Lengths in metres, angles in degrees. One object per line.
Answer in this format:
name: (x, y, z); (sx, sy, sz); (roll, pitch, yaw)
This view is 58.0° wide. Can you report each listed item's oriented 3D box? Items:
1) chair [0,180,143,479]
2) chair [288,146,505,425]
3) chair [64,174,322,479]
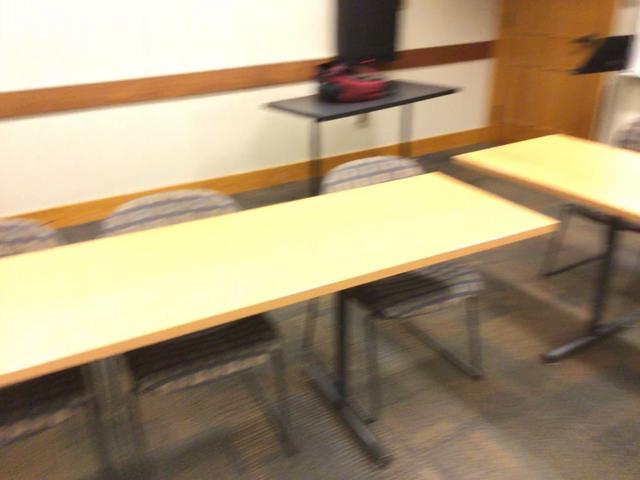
chair: (-0.870, 0.330, 1.560); (0.500, 0.800, 0.500); (-18, 26, -27)
chair: (0.270, 0.120, 2.060); (0.500, 0.740, 0.520); (-18, 26, -27)
chair: (-0.380, 0.250, 1.780); (0.520, 0.720, 0.510); (-18, 26, -27)
